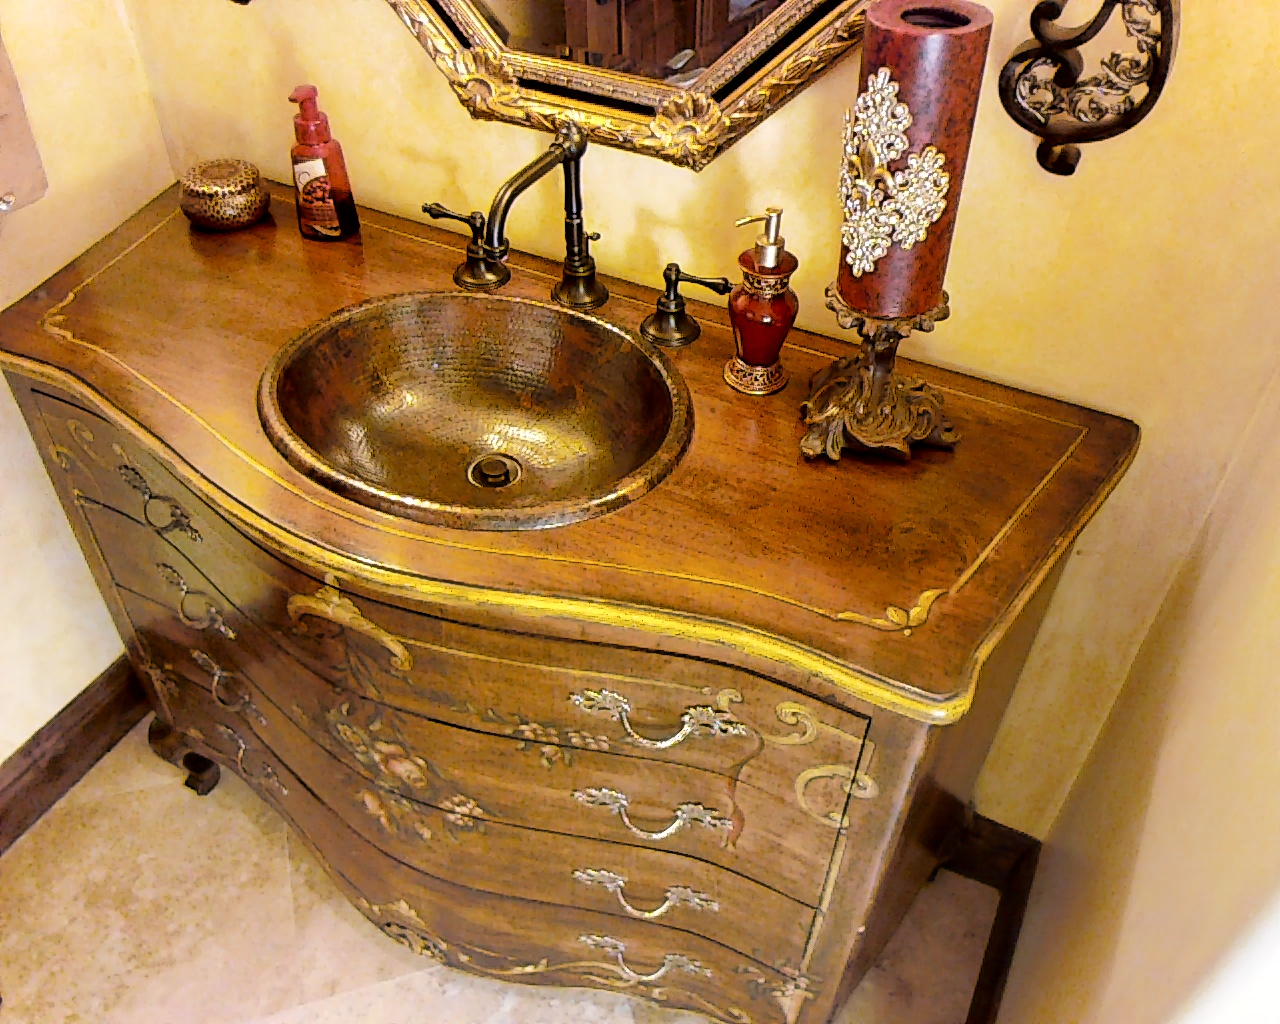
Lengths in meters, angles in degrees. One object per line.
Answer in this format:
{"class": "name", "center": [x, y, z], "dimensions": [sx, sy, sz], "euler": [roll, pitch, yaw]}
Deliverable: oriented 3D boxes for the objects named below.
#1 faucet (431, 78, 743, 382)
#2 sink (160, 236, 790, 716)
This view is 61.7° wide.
{"class": "faucet", "center": [-0.060, -0.320, 1.210], "dimensions": [0.310, 0.240, 0.120], "euler": [20, 46, 19]}
{"class": "sink", "center": [-0.160, -0.080, 1.200], "dimensions": [0.500, 0.160, 0.450], "euler": [21, 46, 20]}
